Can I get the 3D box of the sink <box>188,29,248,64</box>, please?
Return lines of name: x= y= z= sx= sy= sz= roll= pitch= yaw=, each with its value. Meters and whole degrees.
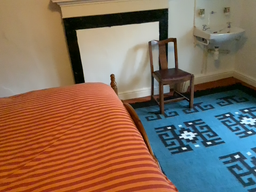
sink: x=1.220 y=-0.700 z=2.940 sx=0.620 sy=0.340 sz=0.400 roll=-11 pitch=26 yaw=-14
